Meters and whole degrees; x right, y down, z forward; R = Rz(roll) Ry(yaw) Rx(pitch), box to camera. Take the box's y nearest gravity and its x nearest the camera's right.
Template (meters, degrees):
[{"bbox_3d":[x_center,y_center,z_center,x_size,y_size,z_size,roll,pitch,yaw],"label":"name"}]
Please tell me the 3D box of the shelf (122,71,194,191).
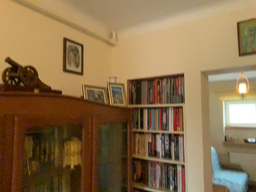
[{"bbox_3d":[0.270,0.790,2.010,0.660,1.970,0.190,-3,-7,35],"label":"shelf"}]
